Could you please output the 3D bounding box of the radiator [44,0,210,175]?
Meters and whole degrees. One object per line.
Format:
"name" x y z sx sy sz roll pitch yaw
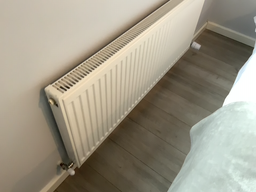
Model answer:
"radiator" 0.130 -0.200 1.220 0.130 0.590 1.260 30 53 20
